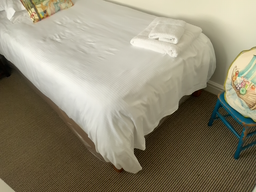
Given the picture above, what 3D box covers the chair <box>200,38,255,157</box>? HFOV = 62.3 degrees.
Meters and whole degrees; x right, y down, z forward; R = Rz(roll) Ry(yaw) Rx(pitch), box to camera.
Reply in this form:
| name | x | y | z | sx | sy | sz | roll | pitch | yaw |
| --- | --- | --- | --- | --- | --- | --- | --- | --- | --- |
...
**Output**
| name | x | y | z | sx | sy | sz | roll | pitch | yaw |
| --- | --- | --- | --- | --- | --- | --- | --- | --- | --- |
| chair | 0.790 | 0.010 | 1.340 | 0.430 | 0.630 | 0.350 | -16 | 45 | -9 |
